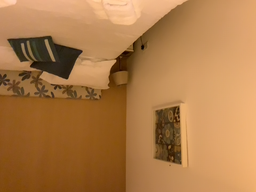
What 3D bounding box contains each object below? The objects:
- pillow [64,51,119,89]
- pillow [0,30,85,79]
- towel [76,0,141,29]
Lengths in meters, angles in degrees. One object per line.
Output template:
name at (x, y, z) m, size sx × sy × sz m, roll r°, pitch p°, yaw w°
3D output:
pillow at (-0.470, -0.300, 2.670) m, size 0.590 × 0.300 × 0.490 m, roll 3°, pitch 171°, yaw -20°
pillow at (-0.870, -0.390, 2.200) m, size 0.730 × 0.250 × 0.550 m, roll 4°, pitch 171°, yaw -23°
towel at (-0.100, -0.570, 1.340) m, size 0.350 × 0.110 × 0.380 m, roll -1°, pitch 171°, yaw 5°
